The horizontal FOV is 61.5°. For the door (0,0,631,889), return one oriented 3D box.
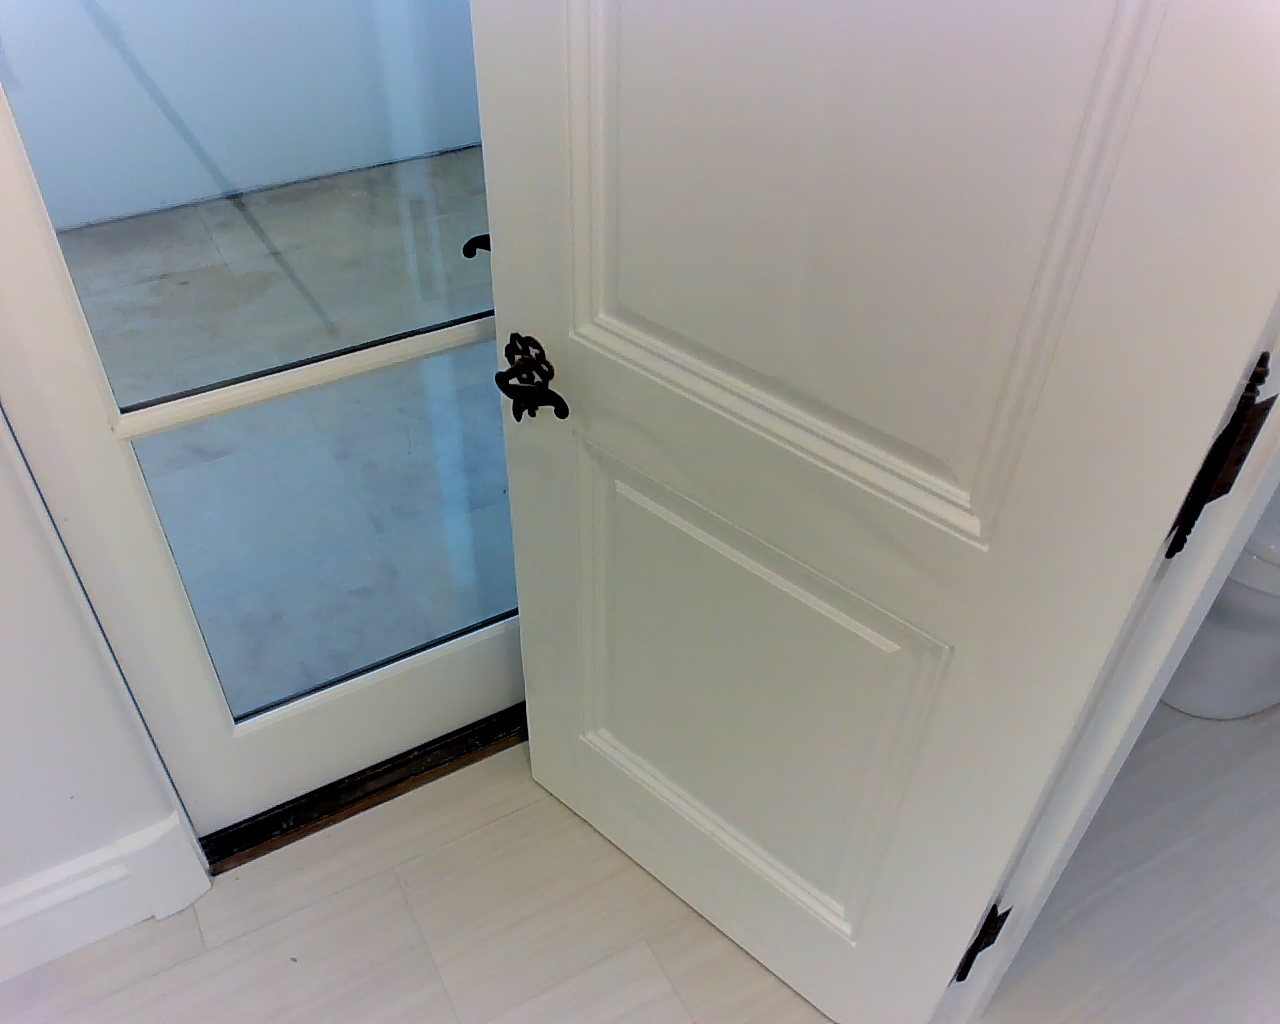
[{"bbox_3d":[-0.360,-0.330,1.210,0.720,2.150,0.130,-20,47,-22],"label":"door"}]
